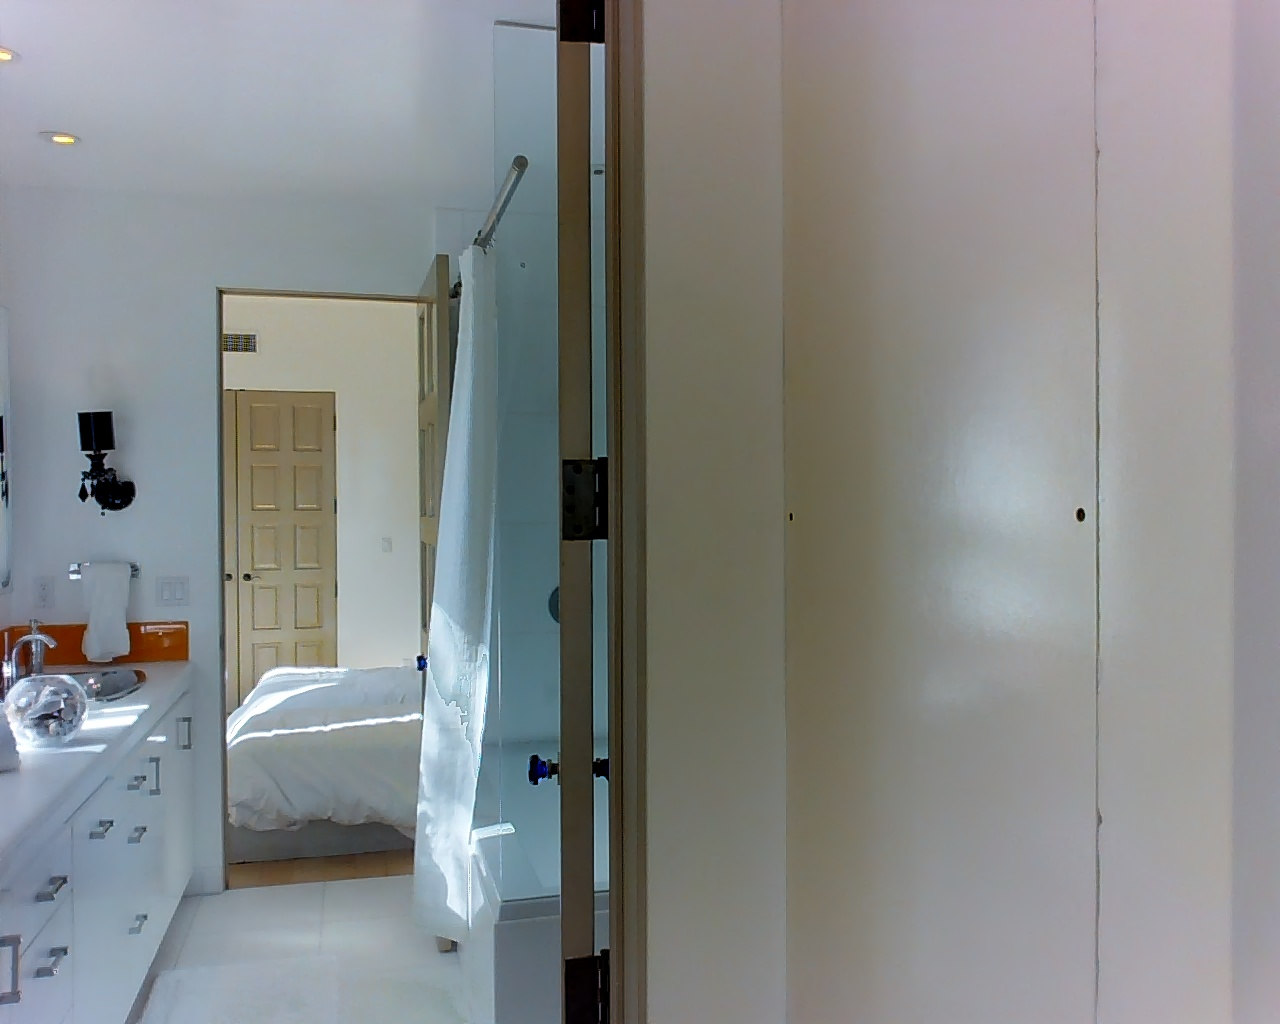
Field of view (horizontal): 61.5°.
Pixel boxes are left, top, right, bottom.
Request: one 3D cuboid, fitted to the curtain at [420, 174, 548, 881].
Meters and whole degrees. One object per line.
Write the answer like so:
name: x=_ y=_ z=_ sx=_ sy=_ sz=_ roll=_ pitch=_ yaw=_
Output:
curtain: x=-0.500 y=0.040 z=3.310 sx=0.290 sy=1.901 sz=0.790 roll=0 pitch=1 yaw=-15
